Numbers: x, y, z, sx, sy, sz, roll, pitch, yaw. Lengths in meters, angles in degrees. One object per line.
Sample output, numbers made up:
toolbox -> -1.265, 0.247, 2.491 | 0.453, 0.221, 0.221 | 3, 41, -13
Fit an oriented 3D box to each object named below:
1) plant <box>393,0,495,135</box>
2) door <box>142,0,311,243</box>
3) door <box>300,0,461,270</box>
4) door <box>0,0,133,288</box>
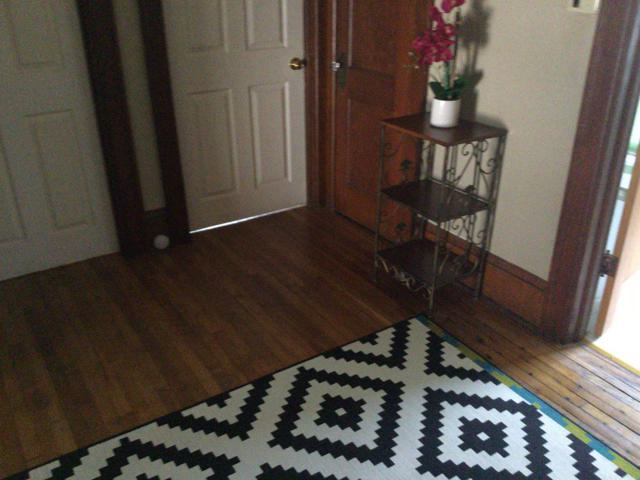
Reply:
plant -> 0.480, -0.720, 2.280 | 0.270, 0.510, 0.230 | -21, 36, -30
door -> -0.440, -0.970, 2.910 | 0.780, 1.930, 0.190 | -21, 36, -30
door -> 0.240, -0.940, 2.750 | 0.170, 2.040, 0.920 | -21, 36, -30
door -> -1.350, -0.700, 2.370 | 0.800, 1.920, 0.120 | -21, 36, -30
